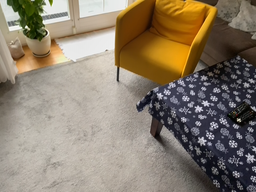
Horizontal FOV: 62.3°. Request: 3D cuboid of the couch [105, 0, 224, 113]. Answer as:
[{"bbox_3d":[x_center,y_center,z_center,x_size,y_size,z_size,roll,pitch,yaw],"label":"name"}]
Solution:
[{"bbox_3d":[0.320,-0.490,2.070,0.780,0.750,0.770,24,48,15],"label":"couch"}]
